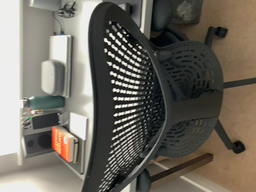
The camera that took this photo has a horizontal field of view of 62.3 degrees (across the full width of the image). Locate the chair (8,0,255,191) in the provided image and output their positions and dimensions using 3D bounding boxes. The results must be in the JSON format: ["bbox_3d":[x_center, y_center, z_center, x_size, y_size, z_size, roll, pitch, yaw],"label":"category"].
[{"bbox_3d":[0.130,-0.040,0.950,0.690,1.030,0.700,16,105,47],"label":"chair"}]
